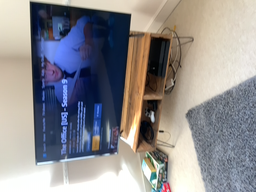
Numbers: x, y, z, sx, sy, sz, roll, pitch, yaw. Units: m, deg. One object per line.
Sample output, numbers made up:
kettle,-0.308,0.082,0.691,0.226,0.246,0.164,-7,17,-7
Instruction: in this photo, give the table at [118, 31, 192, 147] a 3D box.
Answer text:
table,0.200,-0.070,1.920,0.380,0.400,0.940,-139,52,-60
